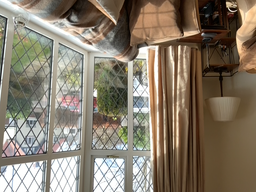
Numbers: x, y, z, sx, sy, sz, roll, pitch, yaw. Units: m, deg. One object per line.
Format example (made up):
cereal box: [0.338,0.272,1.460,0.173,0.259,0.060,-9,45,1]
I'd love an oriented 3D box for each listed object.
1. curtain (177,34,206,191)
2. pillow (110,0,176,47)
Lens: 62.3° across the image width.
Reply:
curtain: [0.760,0.420,2.500,0.180,2.190,0.490,-4,170,26]
pillow: [0.130,-0.690,1.860,0.510,0.380,0.250,-4,171,24]
